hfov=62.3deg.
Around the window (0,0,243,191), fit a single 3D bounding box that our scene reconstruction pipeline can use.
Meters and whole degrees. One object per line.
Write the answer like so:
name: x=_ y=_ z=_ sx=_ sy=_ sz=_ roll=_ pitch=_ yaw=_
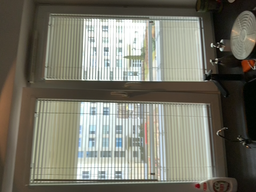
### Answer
window: x=-0.030 y=-0.040 z=1.510 sx=0.150 sy=1.460 sz=1.490 roll=100 pitch=170 yaw=-73
